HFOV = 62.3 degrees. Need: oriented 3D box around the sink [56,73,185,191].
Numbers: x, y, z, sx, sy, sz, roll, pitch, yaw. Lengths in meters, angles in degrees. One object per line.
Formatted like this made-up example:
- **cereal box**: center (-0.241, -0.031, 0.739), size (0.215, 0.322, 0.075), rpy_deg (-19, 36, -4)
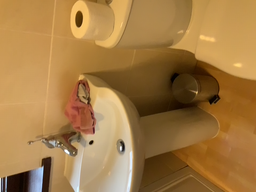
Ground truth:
- **sink**: center (-0.080, 0.230, 0.850), size (0.430, 0.190, 0.540), rpy_deg (30, 114, 43)
